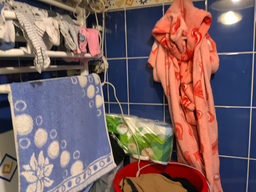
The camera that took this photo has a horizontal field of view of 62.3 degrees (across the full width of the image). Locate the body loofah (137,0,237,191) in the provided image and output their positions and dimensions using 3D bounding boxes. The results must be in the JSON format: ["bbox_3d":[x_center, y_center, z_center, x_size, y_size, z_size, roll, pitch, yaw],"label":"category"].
[{"bbox_3d":[0.270,0.050,1.030,0.410,1.030,0.130,1,9,20],"label":"body loofah"}]

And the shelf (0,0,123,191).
[{"bbox_3d":[-0.260,-0.130,0.790,0.220,1.100,0.610,2,9,22],"label":"shelf"}]
